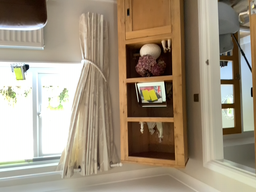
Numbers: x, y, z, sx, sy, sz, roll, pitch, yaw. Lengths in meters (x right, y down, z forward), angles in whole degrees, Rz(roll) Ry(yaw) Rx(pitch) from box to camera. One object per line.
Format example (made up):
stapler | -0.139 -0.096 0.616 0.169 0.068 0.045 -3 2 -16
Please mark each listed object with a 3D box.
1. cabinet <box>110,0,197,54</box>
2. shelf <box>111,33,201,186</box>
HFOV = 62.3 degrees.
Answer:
cabinet | 0.240 -0.940 2.390 0.730 0.740 0.720 0 179 -18
shelf | 0.260 0.120 2.360 0.730 1.370 0.720 0 179 -18
